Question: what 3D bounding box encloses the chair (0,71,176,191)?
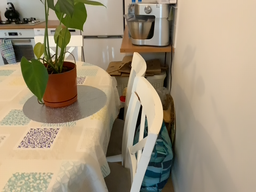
[{"bbox_3d":[-0.130,0.400,0.970,0.500,0.900,0.470,-3,27,-3],"label":"chair"}]
